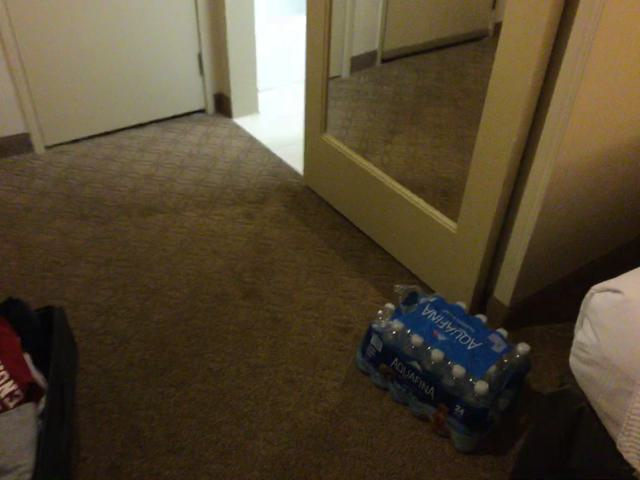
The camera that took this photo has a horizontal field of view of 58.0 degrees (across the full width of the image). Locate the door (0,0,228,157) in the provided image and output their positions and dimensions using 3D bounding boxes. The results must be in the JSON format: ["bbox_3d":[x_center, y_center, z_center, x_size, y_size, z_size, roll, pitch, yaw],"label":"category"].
[{"bbox_3d":[-0.810,-1.100,2.180,0.870,1.500,0.100,-20,43,-27],"label":"door"}]

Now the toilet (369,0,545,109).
[{"bbox_3d":[0.720,-1.230,2.940,0.740,0.870,0.450,-20,43,-27],"label":"toilet"}]

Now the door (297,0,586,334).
[{"bbox_3d":[0.240,-0.560,1.600,0.130,1.440,0.930,-20,43,-27],"label":"door"}]
